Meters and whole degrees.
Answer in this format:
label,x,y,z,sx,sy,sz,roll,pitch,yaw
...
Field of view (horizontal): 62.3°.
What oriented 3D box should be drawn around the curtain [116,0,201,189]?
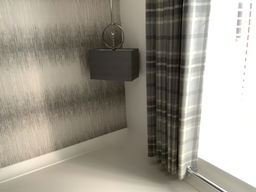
label,x,y,z,sx,sy,sz,roll,pitch,yaw
curtain,0.190,-0.550,1.510,0.290,2.400,0.560,-13,-160,-30
